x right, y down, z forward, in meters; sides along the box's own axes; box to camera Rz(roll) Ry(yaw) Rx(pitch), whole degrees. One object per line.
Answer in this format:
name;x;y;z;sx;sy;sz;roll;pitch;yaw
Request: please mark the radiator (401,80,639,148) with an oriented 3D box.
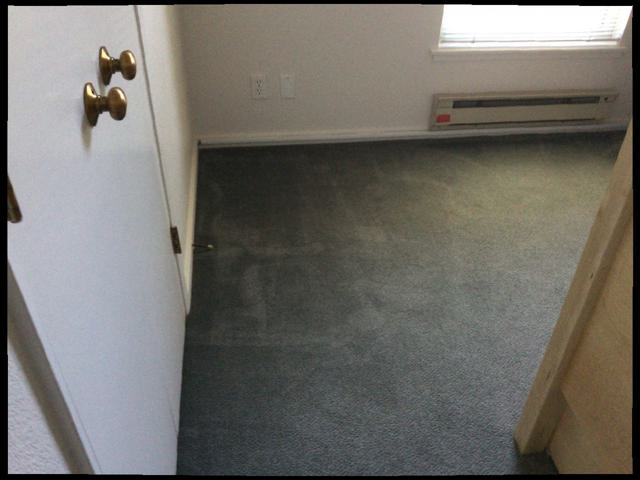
radiator;1.088;-0.631;2.860;1.377;0.260;0.080;-5;39;-10
